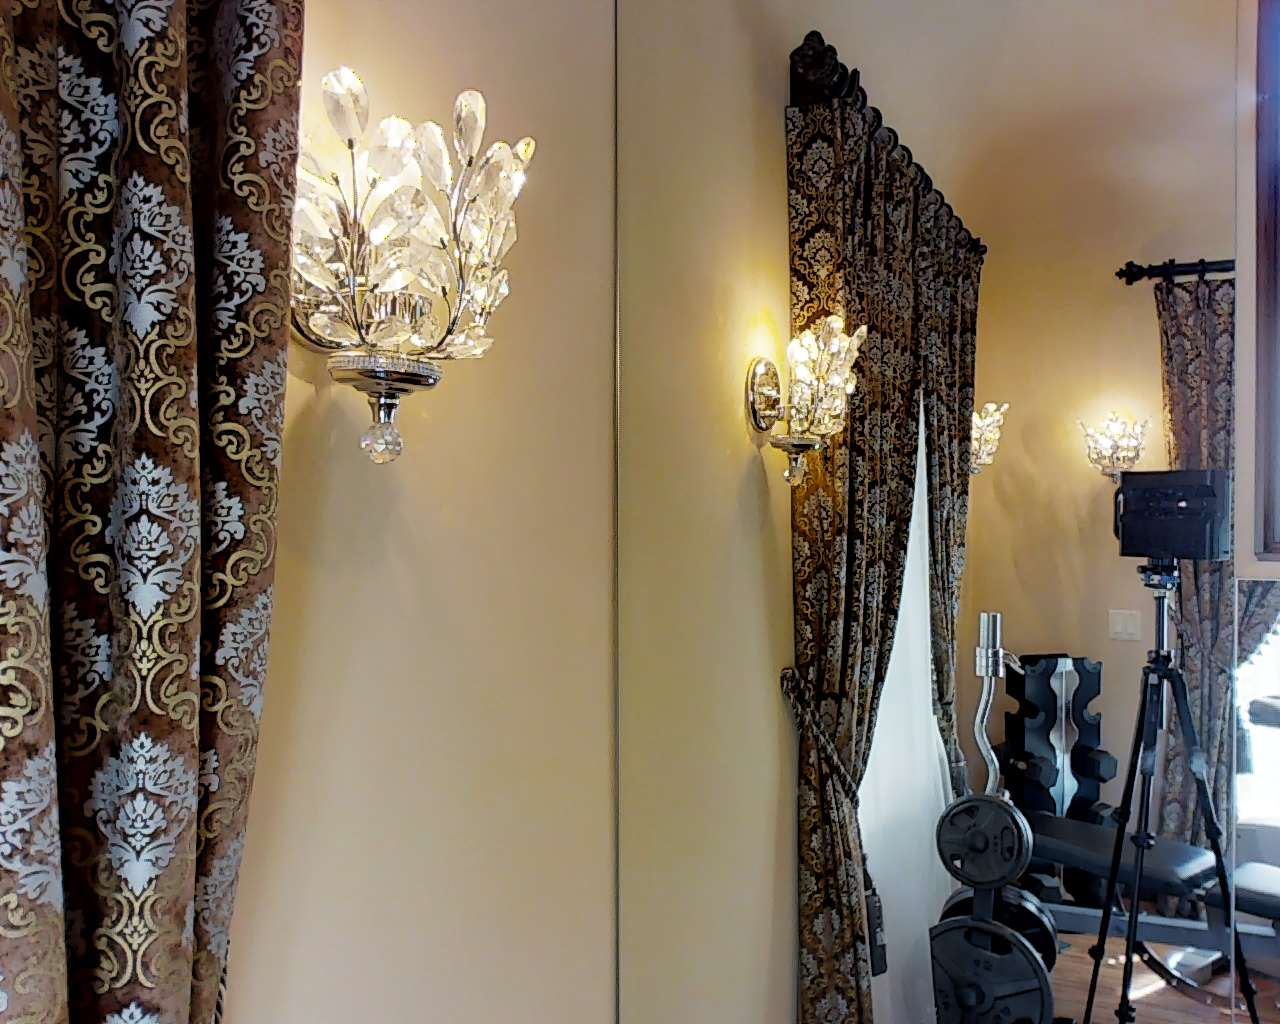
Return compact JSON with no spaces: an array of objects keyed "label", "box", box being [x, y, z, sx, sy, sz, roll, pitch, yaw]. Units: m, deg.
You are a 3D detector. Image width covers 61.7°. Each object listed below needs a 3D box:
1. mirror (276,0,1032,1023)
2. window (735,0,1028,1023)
[{"label":"mirror","box":[0.720,0.130,3.370,0.400,3.030,4.520,-1,0,27]},{"label":"window","box":[0.830,0.290,3.140,0.290,2.680,2.150,-1,0,27]}]
